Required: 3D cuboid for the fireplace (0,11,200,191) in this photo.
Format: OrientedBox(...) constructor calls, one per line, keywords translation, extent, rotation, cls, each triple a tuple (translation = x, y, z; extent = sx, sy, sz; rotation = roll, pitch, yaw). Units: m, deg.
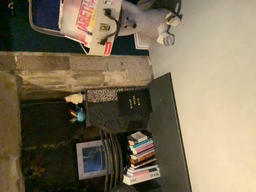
OrientedBox(translation=(-0.320, 0.480, 1.680), extent=(0.860, 1.400, 1.840), rotation=(-20, 75, 62), cls="fireplace")
